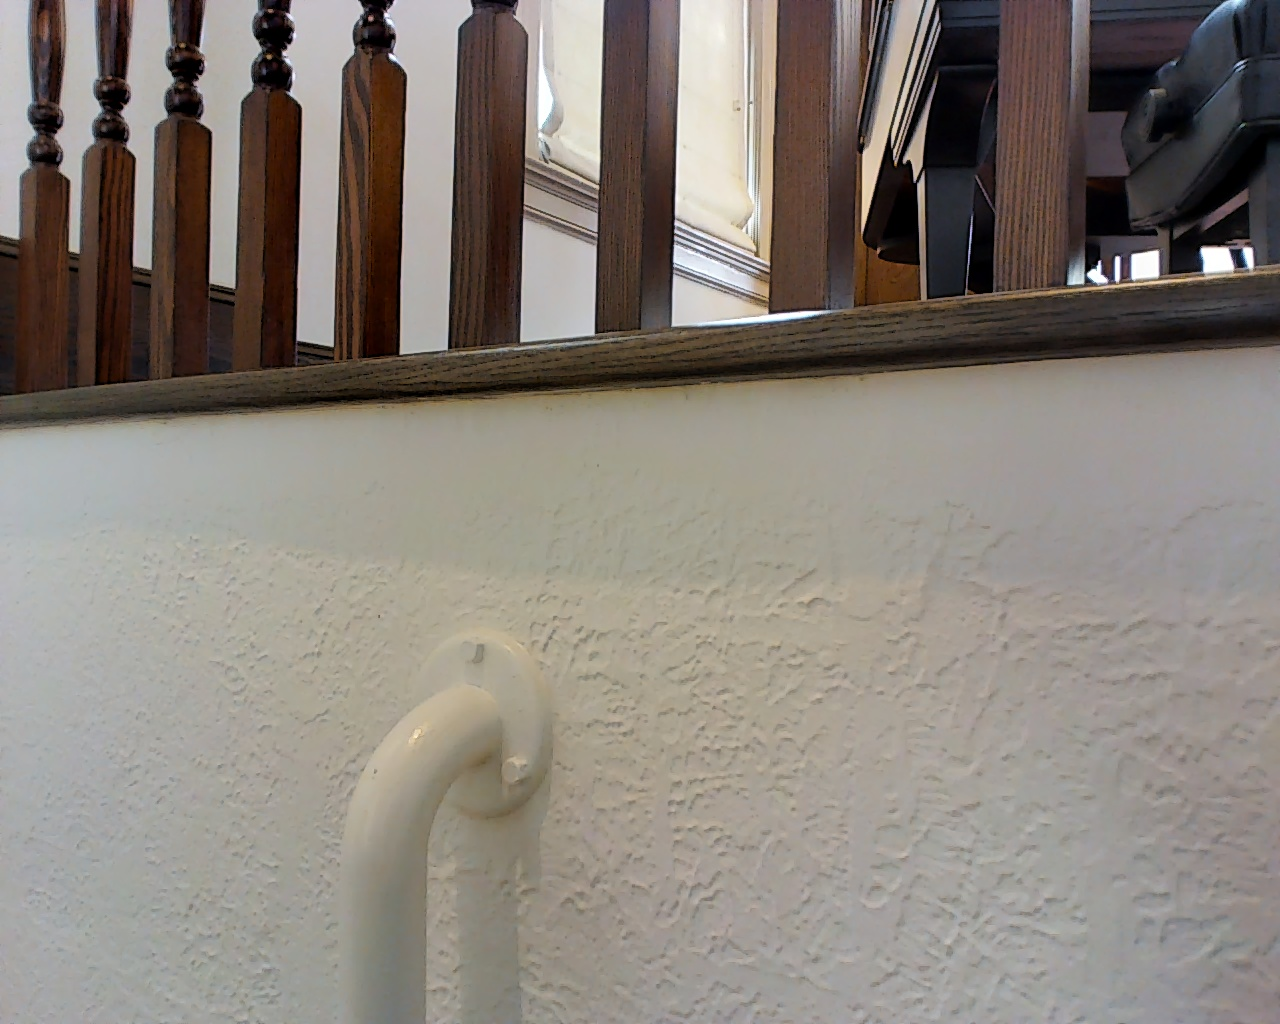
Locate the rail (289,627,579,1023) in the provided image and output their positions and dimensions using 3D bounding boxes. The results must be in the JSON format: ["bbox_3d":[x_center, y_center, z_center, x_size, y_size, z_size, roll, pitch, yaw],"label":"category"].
[{"bbox_3d":[-0.120,0.340,0.620,0.130,0.530,0.100,1,0,35],"label":"rail"}]

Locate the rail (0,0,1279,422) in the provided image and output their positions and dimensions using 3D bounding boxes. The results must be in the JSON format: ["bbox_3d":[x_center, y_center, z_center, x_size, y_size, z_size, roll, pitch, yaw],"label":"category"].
[{"bbox_3d":[-0.180,-0.600,0.850,1.490,0.990,0.100,1,0,35],"label":"rail"}]
